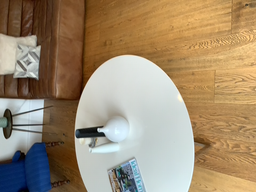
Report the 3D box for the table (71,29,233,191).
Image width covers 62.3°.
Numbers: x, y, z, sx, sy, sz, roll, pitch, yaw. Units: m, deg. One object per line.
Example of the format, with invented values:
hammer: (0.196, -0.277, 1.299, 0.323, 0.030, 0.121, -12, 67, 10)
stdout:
table: (0.080, 0.280, 1.540, 1.070, 0.460, 1.100, -10, 81, 45)
